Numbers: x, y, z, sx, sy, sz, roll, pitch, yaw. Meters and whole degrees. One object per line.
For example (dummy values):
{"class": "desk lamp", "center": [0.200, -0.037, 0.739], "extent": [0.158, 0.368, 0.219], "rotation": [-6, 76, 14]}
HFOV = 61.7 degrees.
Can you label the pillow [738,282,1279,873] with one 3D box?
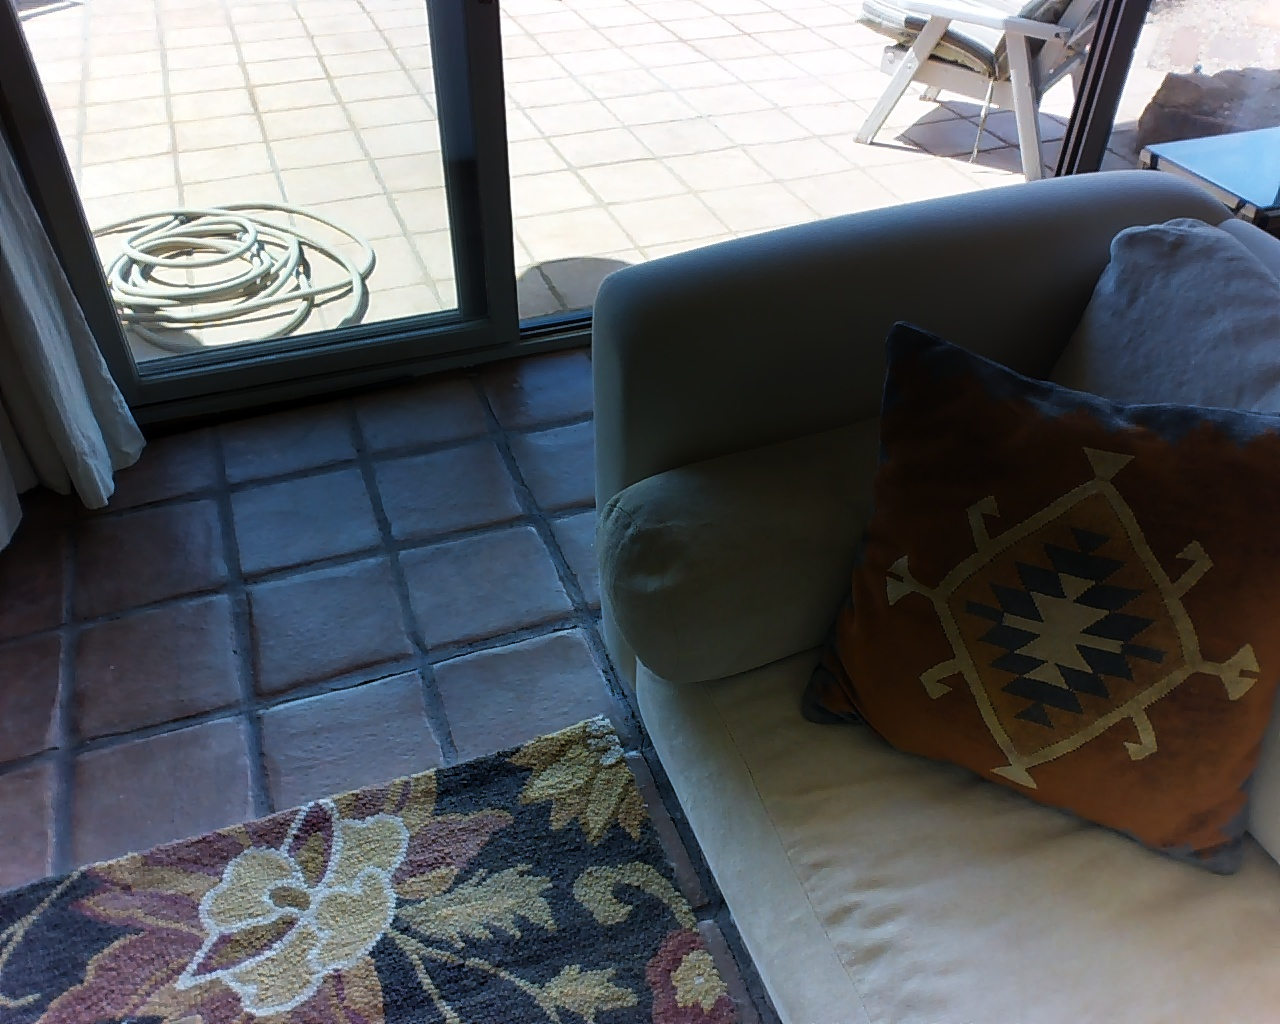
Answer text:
{"class": "pillow", "center": [0.490, 0.100, 1.220], "extent": [0.540, 0.510, 0.280], "rotation": [-15, 15, 34]}
